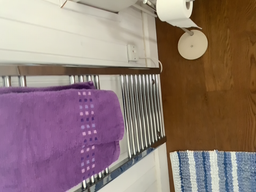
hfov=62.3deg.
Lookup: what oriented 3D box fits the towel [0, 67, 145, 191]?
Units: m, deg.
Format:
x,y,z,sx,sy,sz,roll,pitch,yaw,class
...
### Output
x,y,z,sx,sy,sz,roll,pitch,yaw,class
-0.170,0.130,0.610,0.180,0.500,0.360,-1,102,34,towel
